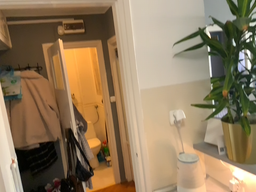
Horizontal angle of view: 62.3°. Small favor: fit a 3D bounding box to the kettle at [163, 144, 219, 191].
[{"bbox_3d":[0.350,0.440,1.190,0.200,0.250,0.210,-10,8,-19],"label":"kettle"}]
